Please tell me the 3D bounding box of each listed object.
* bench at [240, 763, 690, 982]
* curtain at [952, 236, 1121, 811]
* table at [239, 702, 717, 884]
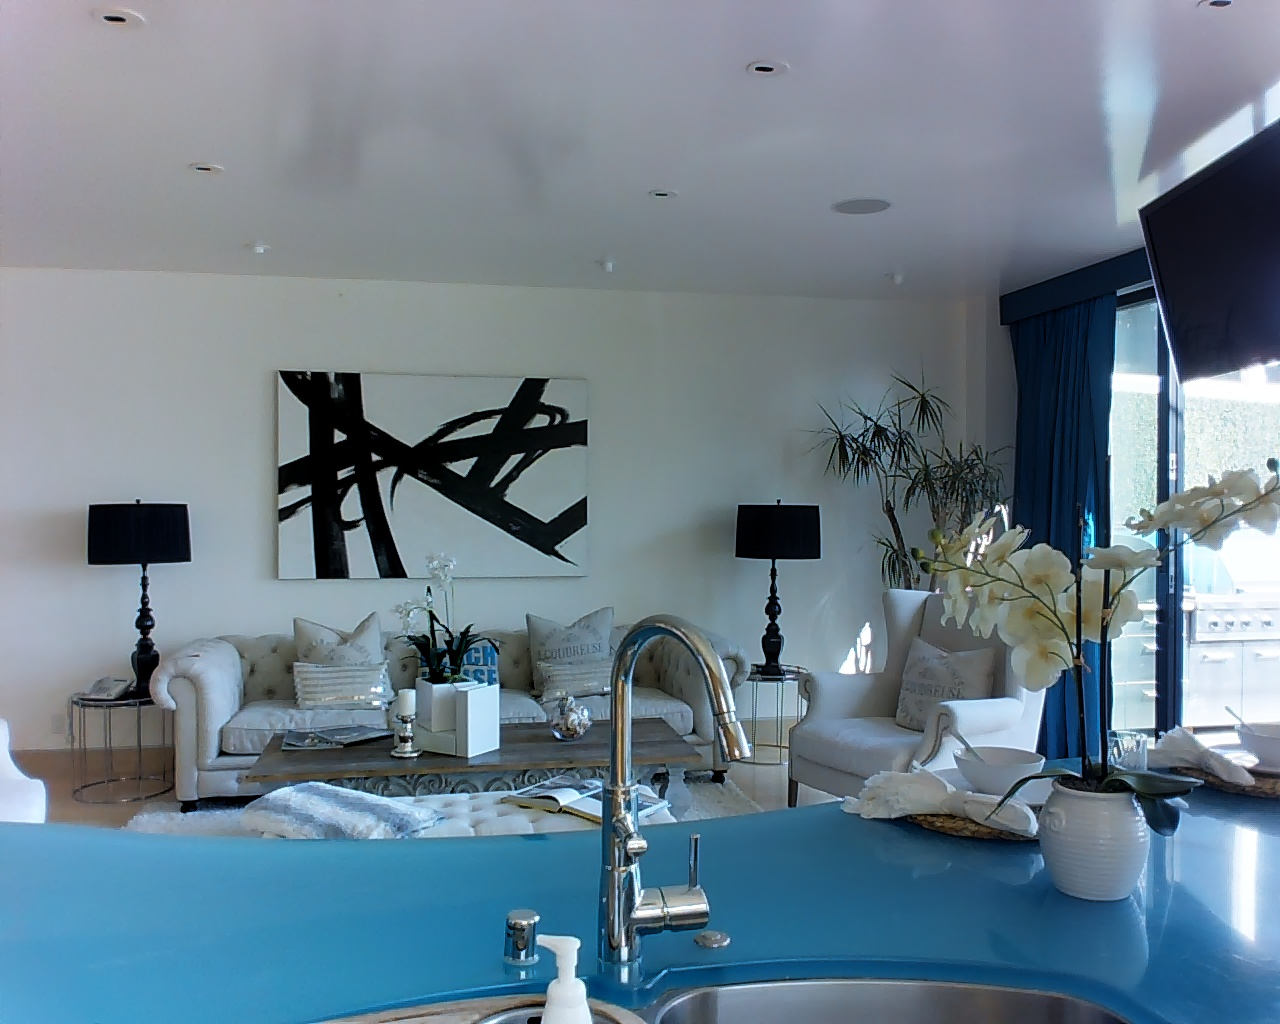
[{"bbox_3d":[-0.600,1.231,3.800,1.459,0.480,0.550,0,1,-12],"label":"bench"},{"bbox_3d":[2.349,0.060,6.500,0.370,3.131,1.240,0,1,-11],"label":"curtain"},{"bbox_3d":[-0.690,1.181,4.720,1.879,0.460,0.890,0,1,-11],"label":"table"}]
